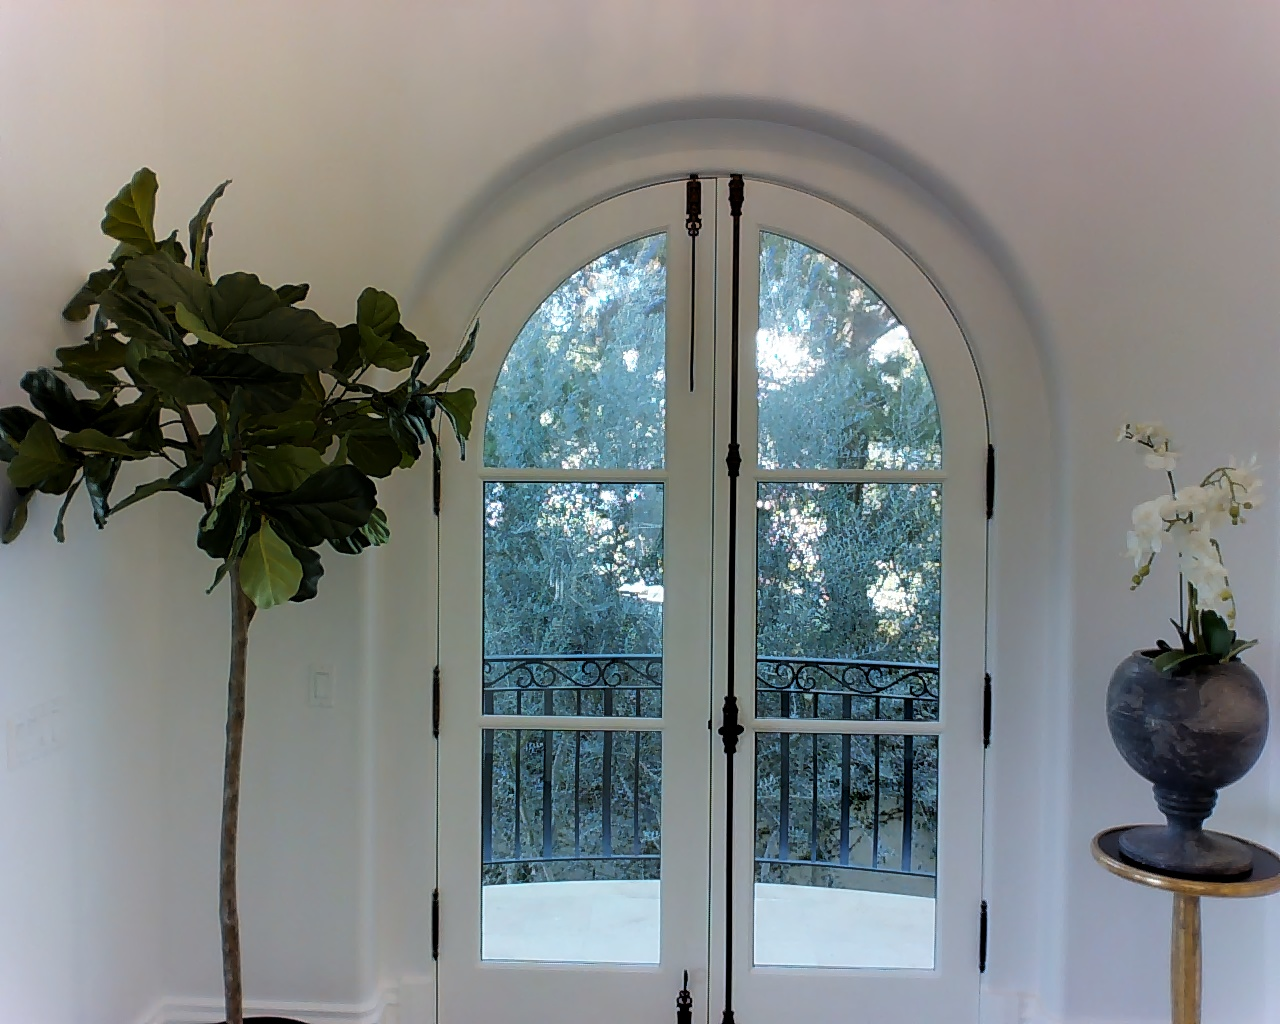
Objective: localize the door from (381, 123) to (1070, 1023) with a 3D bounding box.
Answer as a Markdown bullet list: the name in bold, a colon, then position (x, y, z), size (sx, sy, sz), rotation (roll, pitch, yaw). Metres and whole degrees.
- **door**: position (0.210, 0.250, 2.980), size (1.829, 2.591, 0.120), rotation (1, 2, 3)

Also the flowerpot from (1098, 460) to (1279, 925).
- **flowerpot**: position (1.190, 0.340, 2.310), size (0.340, 0.890, 0.440), rotation (2, 2, 25)

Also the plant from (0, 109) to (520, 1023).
- **plant**: position (-0.830, 0.440, 2.350), size (0.960, 2.261, 1.040), rotation (1, 2, 2)
